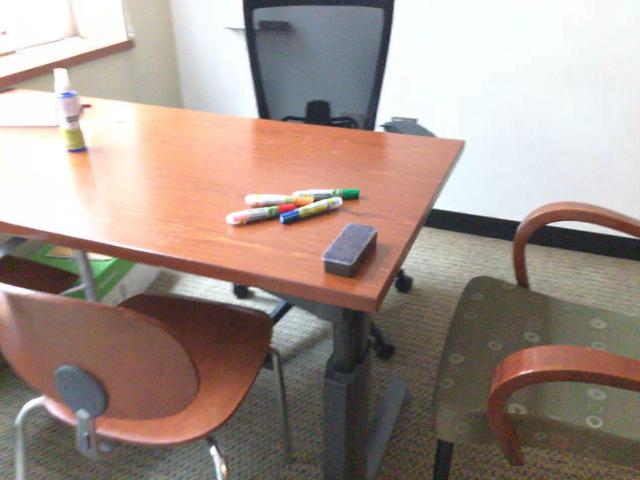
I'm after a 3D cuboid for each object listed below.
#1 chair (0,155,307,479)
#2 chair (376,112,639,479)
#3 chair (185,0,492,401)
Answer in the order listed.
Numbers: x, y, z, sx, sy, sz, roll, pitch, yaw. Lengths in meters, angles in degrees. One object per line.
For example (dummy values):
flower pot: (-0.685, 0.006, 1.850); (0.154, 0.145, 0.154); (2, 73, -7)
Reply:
chair: (-0.370, 0.160, 1.120); (0.460, 0.420, 0.590); (11, 31, 22)
chair: (0.510, 0.150, 1.060); (0.600, 0.530, 0.710); (11, 31, 23)
chair: (0.000, -0.190, 1.850); (0.700, 1.040, 0.730); (-7, 29, -9)
